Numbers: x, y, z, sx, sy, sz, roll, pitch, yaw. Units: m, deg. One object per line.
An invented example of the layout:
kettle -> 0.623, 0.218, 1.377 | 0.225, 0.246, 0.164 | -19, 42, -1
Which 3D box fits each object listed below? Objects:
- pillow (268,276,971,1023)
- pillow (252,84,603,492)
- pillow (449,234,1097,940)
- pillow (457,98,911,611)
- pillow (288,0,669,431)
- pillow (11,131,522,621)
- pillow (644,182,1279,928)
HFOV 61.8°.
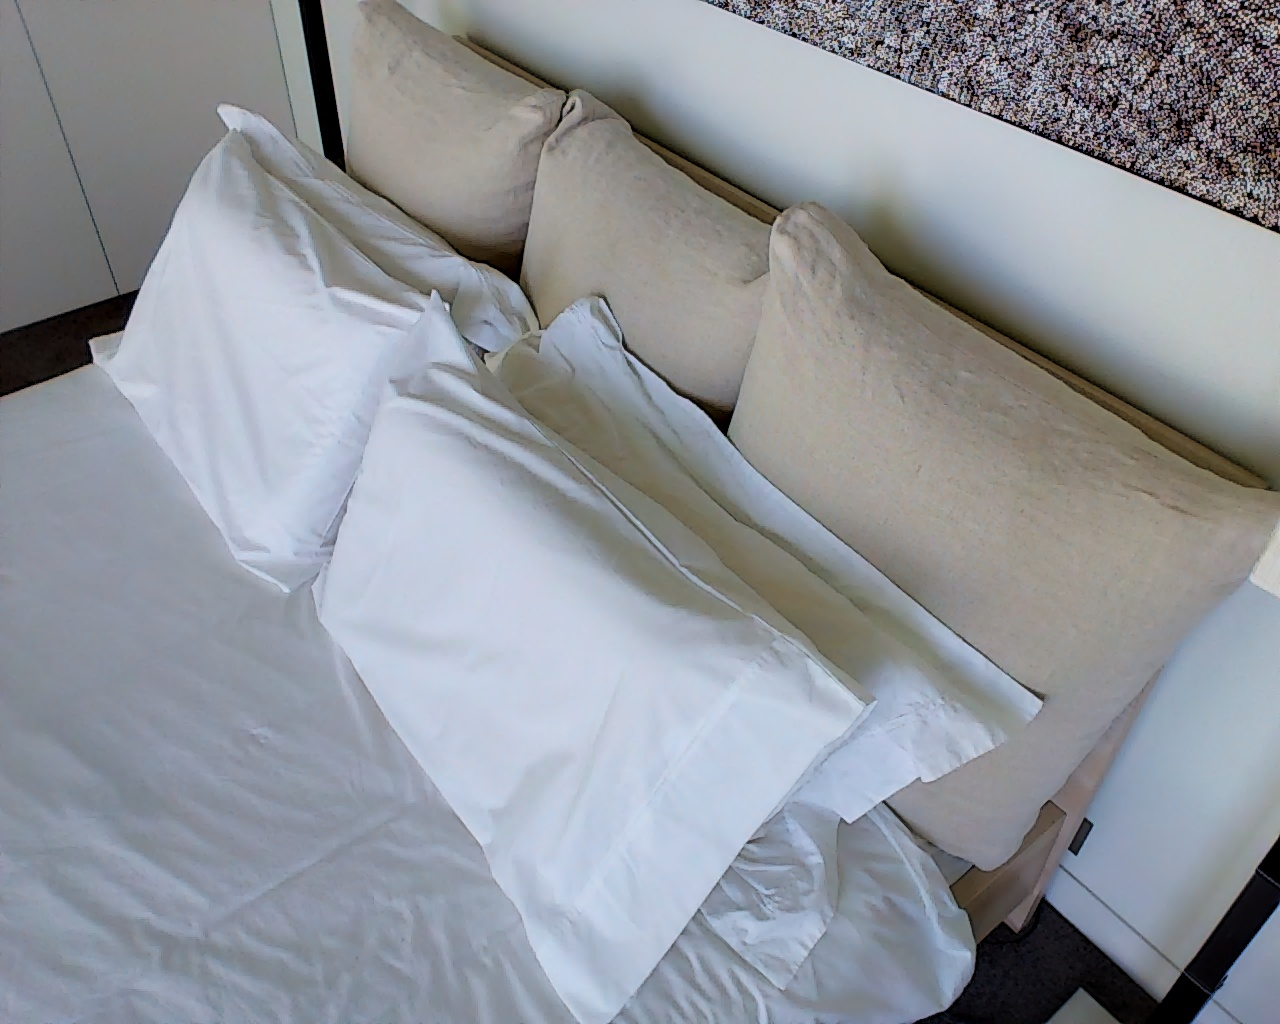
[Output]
pillow -> -0.100, 0.110, 1.190 | 0.260, 0.450, 0.760 | -7, 37, -42
pillow -> -0.400, -0.410, 1.790 | 0.180, 0.350, 0.810 | -16, 43, -36
pillow -> 0.060, 0.030, 1.280 | 0.140, 0.400, 0.860 | -17, 44, -35
pillow -> 0.020, -0.240, 1.500 | 0.290, 0.510, 0.490 | -15, 42, -37
pillow -> -0.300, -0.540, 1.830 | 0.330, 0.510, 0.600 | -20, 45, -33
pillow -> -0.580, -0.260, 1.640 | 0.420, 0.300, 0.780 | -27, 49, -28
pillow -> 0.350, 0.010, 1.210 | 0.290, 0.560, 0.590 | -15, 42, -37
